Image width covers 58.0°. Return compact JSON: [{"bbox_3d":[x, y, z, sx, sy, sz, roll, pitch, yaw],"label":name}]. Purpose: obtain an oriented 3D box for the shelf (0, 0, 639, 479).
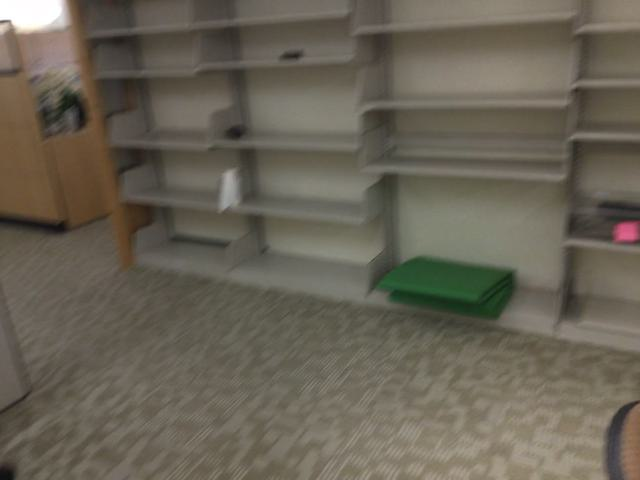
[{"bbox_3d":[1.690,-0.090,0.920,5.810,1.840,2.230,7,21,35],"label":"shelf"}]
